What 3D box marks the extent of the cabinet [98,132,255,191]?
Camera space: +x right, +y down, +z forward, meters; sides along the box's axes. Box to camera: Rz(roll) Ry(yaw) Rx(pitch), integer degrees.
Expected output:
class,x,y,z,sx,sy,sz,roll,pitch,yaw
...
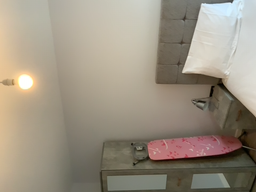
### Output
class,x,y,z,sx,sy,sz,roll,pitch,yaw
cabinet,0.580,1.010,2.840,0.570,1.860,0.850,-91,2,-64

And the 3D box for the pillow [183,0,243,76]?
class,x,y,z,sx,sy,sz,roll,pitch,yaw
pillow,0.800,-0.570,2.070,0.140,0.480,0.720,-50,-39,-60

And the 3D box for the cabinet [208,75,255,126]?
class,x,y,z,sx,sy,sz,roll,pitch,yaw
cabinet,1.270,0.040,2.400,0.430,0.510,0.410,-91,2,-62
